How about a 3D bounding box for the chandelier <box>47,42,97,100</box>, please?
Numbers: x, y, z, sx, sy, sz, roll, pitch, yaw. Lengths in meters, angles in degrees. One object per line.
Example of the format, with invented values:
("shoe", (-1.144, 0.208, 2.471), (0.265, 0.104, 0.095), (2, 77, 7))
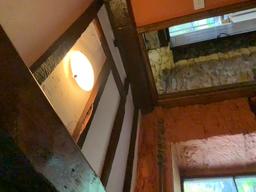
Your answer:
("chandelier", (-0.320, -0.150, 1.270), (0.190, 0.140, 0.270), (-76, 153, -55))
